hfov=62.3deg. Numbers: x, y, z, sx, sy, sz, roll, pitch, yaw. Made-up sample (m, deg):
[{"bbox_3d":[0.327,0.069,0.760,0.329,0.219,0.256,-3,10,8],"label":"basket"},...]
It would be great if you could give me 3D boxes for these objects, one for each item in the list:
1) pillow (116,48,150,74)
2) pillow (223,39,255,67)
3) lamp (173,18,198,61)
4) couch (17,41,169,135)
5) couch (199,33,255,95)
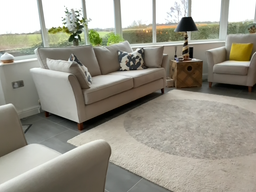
[{"bbox_3d":[0.090,-0.590,3.620,0.550,0.380,0.220,-1,54,3],"label":"pillow"},{"bbox_3d":[2.070,-0.810,3.980,0.420,0.350,0.200,28,48,33],"label":"pillow"},{"bbox_3d":[1.090,-1.080,4.060,0.350,0.760,0.310,-3,18,-2],"label":"lamp"},{"bbox_3d":[-0.350,-0.330,3.280,1.060,0.870,2.050,12,23,38],"label":"couch"},{"bbox_3d":[1.970,-0.650,3.920,0.890,0.930,0.950,13,23,40],"label":"couch"}]
